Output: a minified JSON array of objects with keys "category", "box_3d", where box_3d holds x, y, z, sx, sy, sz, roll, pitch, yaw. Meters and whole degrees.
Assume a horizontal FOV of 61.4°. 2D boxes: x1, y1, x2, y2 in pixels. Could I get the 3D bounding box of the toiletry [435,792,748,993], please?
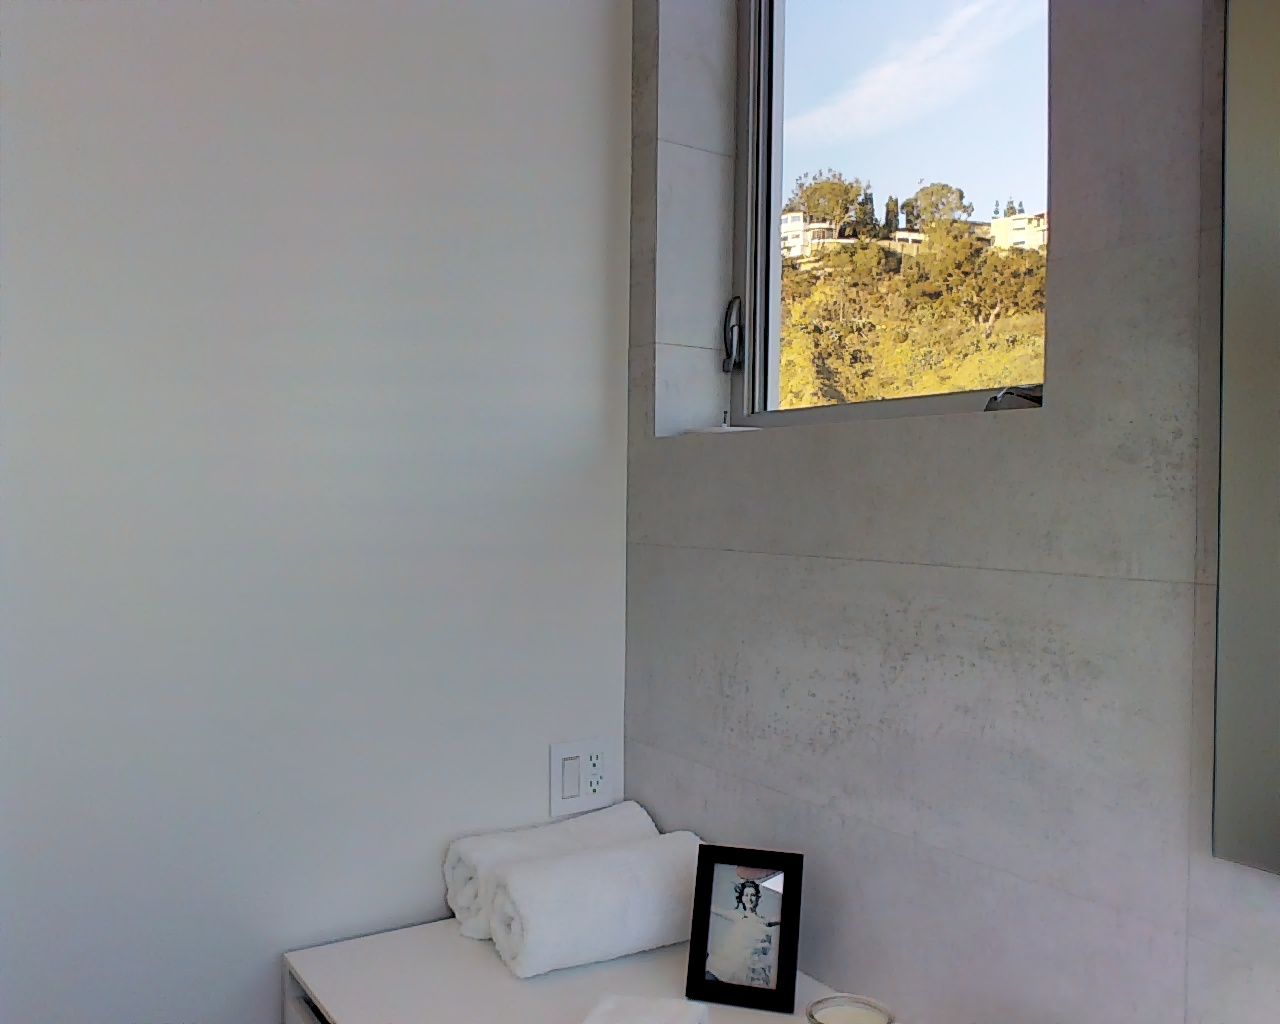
[{"category":"toiletry","box_3d":[-0.080,0.550,1.620,0.350,0.150,0.330,3,-1,-31]}]
